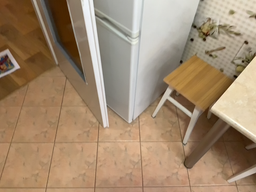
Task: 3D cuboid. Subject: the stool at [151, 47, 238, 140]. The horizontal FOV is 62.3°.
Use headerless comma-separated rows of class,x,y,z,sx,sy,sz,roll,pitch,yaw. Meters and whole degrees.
stool,0.420,0.000,1.470,0.310,0.470,0.340,-35,64,-22
